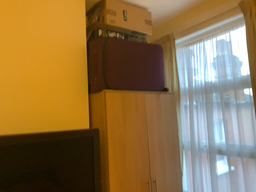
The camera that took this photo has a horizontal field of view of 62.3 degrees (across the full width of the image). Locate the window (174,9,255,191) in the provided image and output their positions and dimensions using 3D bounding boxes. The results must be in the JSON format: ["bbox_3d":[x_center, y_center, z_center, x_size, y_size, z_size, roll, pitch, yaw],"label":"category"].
[{"bbox_3d":[0.820,0.170,2.030,0.070,1.730,0.770,1,-6,-37],"label":"window"}]
